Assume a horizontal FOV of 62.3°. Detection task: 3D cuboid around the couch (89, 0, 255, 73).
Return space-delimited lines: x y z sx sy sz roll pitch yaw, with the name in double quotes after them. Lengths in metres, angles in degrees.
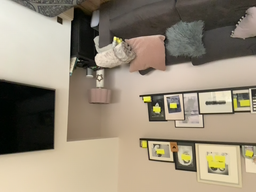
1.030 -0.950 2.600 3.100 0.790 0.980 -4 172 31 "couch"
